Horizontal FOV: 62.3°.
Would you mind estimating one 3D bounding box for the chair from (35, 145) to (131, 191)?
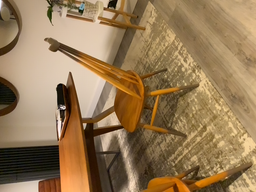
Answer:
[{"bbox_3d":[-0.550,1.000,2.410,0.620,0.890,0.580,-61,36,42],"label":"chair"}]

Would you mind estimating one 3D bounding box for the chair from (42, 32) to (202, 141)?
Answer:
[{"bbox_3d":[-0.060,-0.060,1.470,0.420,0.940,0.550,41,123,58],"label":"chair"}]
